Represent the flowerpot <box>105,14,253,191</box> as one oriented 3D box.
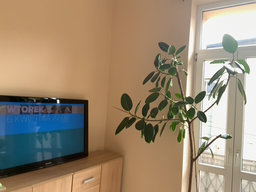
[{"bbox_3d":[0.450,0.530,2.030,1.210,2.270,0.520,2,-2,30],"label":"flowerpot"}]
